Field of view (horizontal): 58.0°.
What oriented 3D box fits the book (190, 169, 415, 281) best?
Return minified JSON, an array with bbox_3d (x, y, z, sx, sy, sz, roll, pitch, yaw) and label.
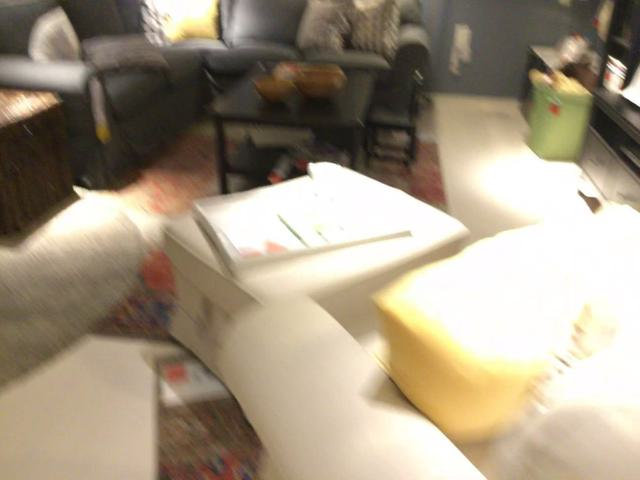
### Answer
[{"bbox_3d":[-0.060,-0.070,1.810,0.590,0.120,0.370,-11,30,-27],"label":"book"}]
